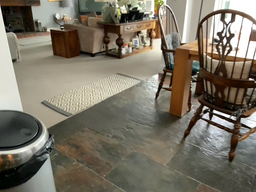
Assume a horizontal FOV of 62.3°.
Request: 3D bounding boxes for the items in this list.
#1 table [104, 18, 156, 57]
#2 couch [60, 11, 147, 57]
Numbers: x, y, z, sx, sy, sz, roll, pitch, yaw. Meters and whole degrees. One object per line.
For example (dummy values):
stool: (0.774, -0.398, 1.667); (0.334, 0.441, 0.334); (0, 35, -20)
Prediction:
table: (0.100, -1.490, 5.230); (0.470, 0.720, 1.450); (18, 30, 34)
couch: (-0.550, -1.740, 5.620); (1.130, 0.820, 2.040); (19, 31, 34)
